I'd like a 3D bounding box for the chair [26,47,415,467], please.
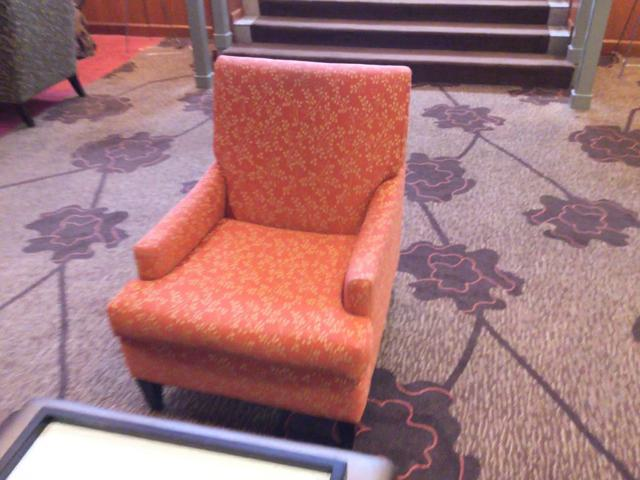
[{"bbox_3d":[-0.140,0.000,1.840,0.790,0.890,0.920,3,38,14],"label":"chair"}]
